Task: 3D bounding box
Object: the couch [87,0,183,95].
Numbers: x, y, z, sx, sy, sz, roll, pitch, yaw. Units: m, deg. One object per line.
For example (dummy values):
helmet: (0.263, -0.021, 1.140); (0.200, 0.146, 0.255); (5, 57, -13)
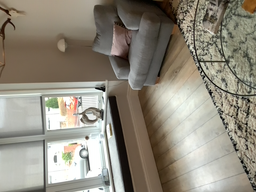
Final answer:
couch: (-0.030, -0.800, 3.020); (1.120, 0.870, 1.060); (-113, 28, -44)
